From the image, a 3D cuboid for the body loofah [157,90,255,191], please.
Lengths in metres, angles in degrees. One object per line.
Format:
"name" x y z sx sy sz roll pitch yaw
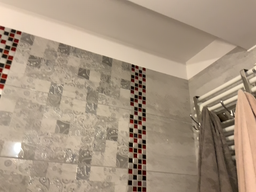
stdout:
"body loofah" 0.330 0.450 0.910 0.270 0.860 0.310 14 -28 -22
